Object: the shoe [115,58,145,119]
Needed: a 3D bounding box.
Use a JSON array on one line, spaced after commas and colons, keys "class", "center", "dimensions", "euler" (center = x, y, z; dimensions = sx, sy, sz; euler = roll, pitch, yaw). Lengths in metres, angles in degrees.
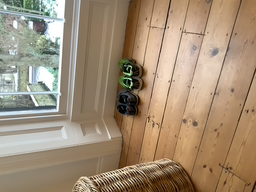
[{"class": "shoe", "center": [0.010, -0.070, 1.840], "dimensions": [0.240, 0.080, 0.480], "euler": [26, 112, 54]}]
